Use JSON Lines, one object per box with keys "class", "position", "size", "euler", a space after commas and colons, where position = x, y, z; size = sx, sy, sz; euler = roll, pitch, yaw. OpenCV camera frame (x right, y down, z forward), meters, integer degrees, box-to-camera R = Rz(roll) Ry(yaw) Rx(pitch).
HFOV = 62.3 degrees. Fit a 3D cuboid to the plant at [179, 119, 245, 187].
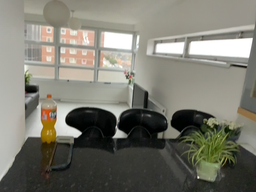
{"class": "plant", "position": [0.490, 0.320, 1.280], "size": [0.300, 0.250, 0.270], "euler": [9, 13, 18]}
